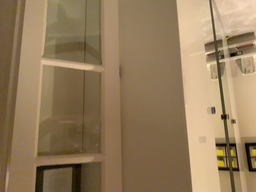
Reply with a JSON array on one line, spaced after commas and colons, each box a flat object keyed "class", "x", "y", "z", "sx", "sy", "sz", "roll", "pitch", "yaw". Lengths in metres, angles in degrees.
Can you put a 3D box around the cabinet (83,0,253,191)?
[{"class": "cabinet", "x": 0.600, "y": 0.190, "z": 1.940, "sx": 0.570, "sy": 2.380, "sz": 2.190, "roll": -10, "pitch": 165, "yaw": 33}]
